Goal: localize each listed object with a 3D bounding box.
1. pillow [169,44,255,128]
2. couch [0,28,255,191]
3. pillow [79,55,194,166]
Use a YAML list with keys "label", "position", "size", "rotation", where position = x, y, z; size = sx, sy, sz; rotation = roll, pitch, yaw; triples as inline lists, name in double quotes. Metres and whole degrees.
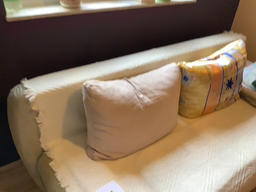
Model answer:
- label: "pillow"
  position: [0.640, -0.100, 1.540]
  size: [0.720, 0.380, 0.180]
  rotation: [-22, 42, -34]
- label: "couch"
  position: [0.460, 0.180, 1.480]
  size: [2.100, 0.780, 0.980]
  rotation: [-20, 41, -32]
- label: "pillow"
  position: [0.050, 0.050, 1.240]
  size: [0.570, 0.380, 0.290]
  rotation: [-22, 42, -34]
